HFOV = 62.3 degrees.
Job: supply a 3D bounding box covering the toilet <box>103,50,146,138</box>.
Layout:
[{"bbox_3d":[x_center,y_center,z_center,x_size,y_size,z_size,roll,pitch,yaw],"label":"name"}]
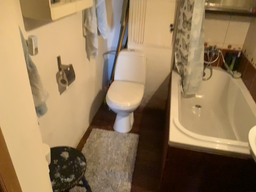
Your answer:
[{"bbox_3d":[-0.030,-0.040,2.210,0.320,0.700,0.560,7,31,6],"label":"toilet"}]
